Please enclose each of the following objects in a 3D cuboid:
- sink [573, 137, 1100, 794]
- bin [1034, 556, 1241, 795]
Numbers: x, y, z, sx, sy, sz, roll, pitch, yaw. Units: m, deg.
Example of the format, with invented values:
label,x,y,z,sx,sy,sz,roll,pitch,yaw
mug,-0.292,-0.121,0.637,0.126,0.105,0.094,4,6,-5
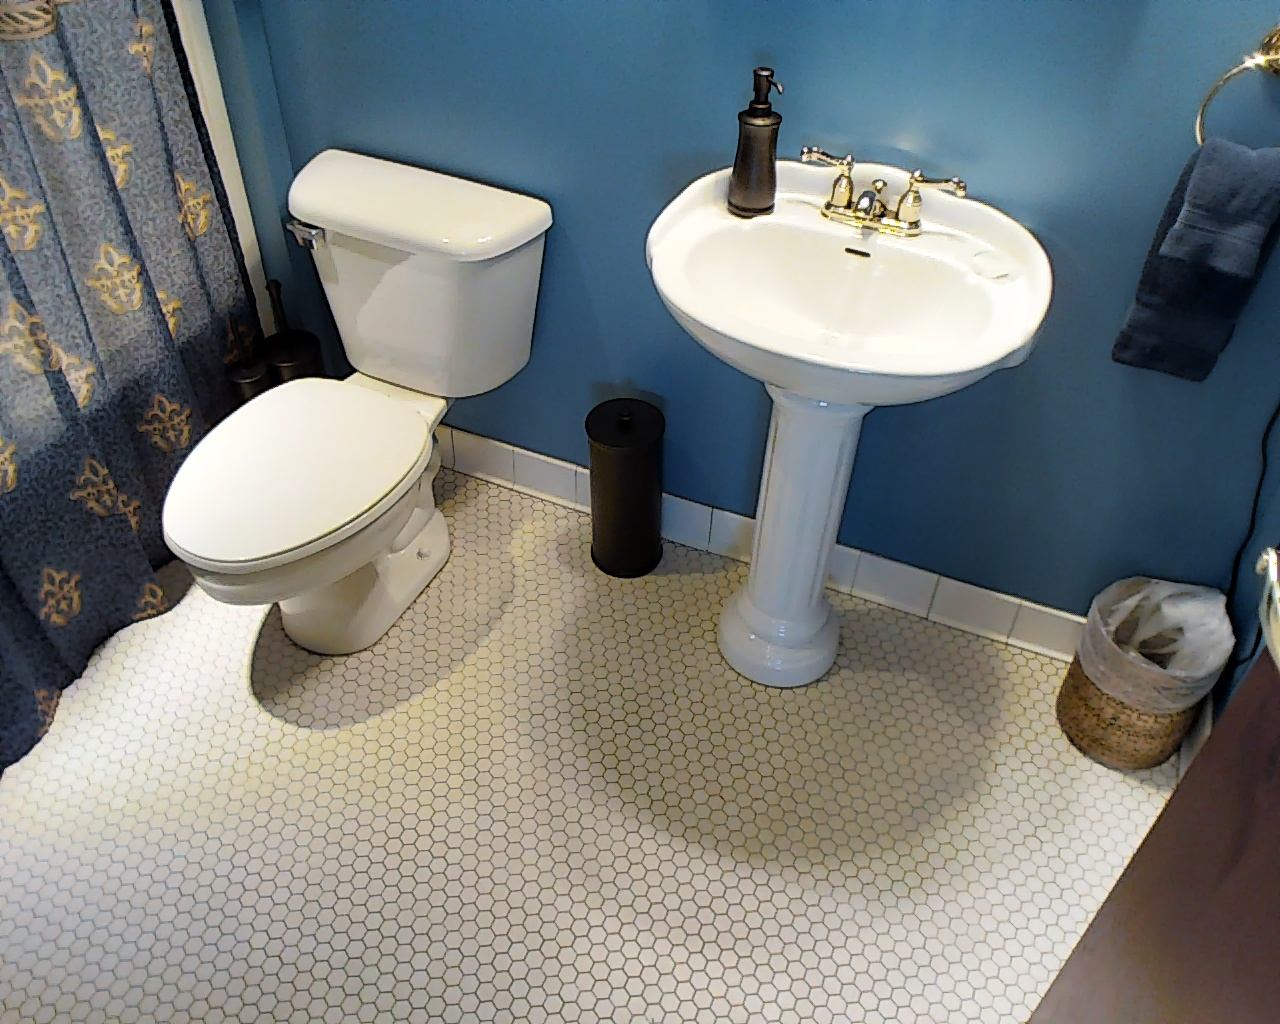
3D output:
label,x,y,z,sx,sy,sz,roll,pitch,yaw
sink,0.270,-0.060,1.740,0.610,0.830,0.440,18,45,16
bin,0.850,0.280,1.850,0.230,0.280,0.220,18,45,16
